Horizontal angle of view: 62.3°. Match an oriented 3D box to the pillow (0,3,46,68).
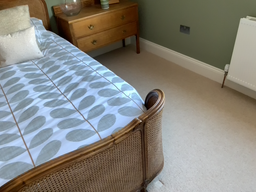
[{"bbox_3d":[-1.080,-0.550,1.870,0.460,0.360,0.520,-25,41,-26],"label":"pillow"}]
